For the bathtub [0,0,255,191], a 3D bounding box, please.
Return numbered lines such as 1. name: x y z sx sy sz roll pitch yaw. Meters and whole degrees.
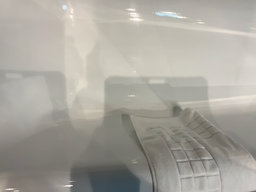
1. bathtub: 0.230 -0.120 0.740 1.660 0.580 0.680 -2 91 -11
